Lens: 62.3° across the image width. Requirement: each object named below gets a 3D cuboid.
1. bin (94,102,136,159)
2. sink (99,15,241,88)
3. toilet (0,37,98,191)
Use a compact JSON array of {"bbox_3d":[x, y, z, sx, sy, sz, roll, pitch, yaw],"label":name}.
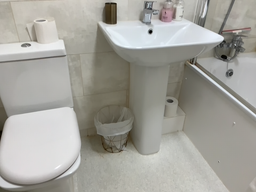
[{"bbox_3d":[-0.100,0.240,1.510,0.250,0.280,0.250,-5,35,-11],"label":"bin"},{"bbox_3d":[0.190,-0.280,1.170,0.610,0.190,0.440,-10,35,-17],"label":"sink"},{"bbox_3d":[-0.440,0.190,1.120,0.420,0.790,0.610,-10,35,-17],"label":"toilet"}]
